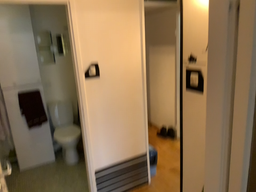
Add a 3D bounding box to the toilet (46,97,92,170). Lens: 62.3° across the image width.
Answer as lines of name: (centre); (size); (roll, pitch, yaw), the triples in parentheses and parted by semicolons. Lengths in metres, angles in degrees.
toilet: (-0.890, 0.510, 3.140); (0.450, 0.800, 0.670); (-10, 16, -23)
